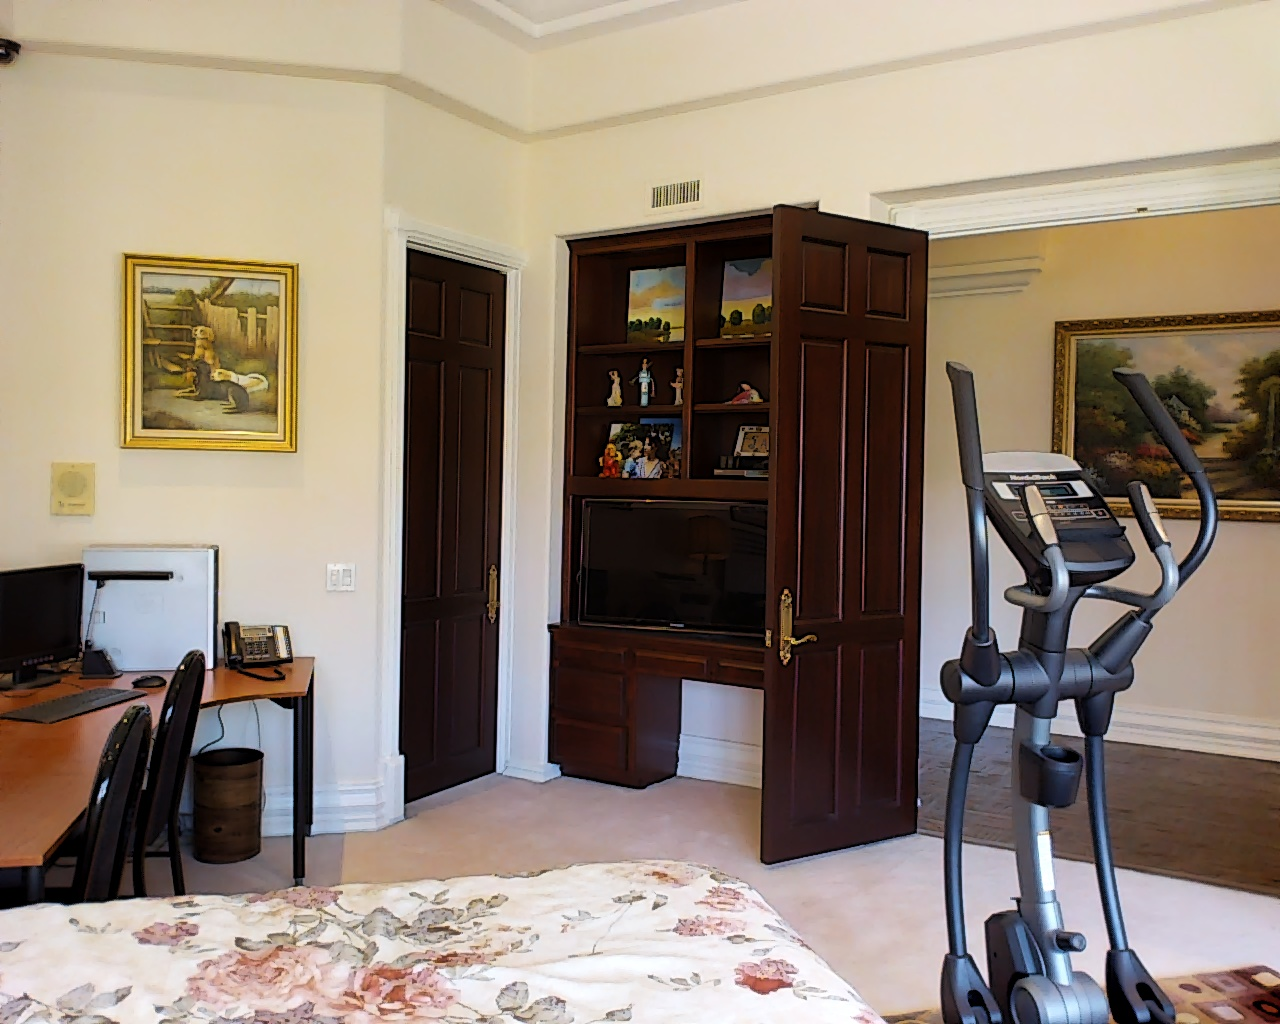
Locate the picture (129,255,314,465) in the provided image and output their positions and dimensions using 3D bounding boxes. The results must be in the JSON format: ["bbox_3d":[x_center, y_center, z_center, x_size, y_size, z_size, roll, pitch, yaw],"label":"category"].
[{"bbox_3d":[-1.620,-0.580,4.170,0.660,0.780,0.070,1,1,-13],"label":"picture"}]
